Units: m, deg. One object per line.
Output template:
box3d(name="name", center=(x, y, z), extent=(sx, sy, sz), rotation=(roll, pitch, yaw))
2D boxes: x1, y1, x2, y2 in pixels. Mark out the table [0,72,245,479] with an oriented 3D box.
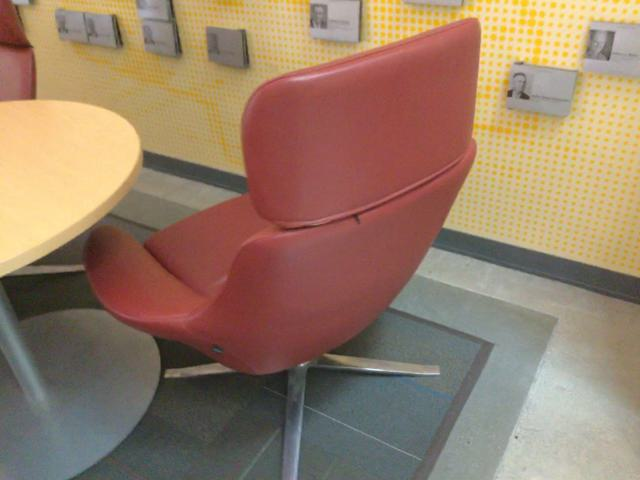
box3d(name="table", center=(-0.860, 0.140, 1.530), extent=(0.940, 0.780, 0.870), rotation=(20, 39, 25))
